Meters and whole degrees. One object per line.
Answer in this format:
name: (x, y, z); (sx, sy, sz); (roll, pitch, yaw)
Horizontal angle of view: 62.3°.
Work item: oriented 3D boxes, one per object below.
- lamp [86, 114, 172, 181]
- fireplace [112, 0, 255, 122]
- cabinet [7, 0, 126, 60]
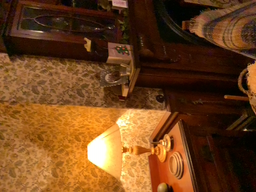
lamp: (-0.020, 0.360, 1.440); (0.330, 0.490, 0.330); (111, 158, -54)
fireplace: (0.550, -0.850, 1.890); (0.840, 1.230, 1.950); (111, 159, -53)
cabinet: (-0.400, -0.470, 1.510); (0.190, 0.730, 0.310); (111, 159, -53)
